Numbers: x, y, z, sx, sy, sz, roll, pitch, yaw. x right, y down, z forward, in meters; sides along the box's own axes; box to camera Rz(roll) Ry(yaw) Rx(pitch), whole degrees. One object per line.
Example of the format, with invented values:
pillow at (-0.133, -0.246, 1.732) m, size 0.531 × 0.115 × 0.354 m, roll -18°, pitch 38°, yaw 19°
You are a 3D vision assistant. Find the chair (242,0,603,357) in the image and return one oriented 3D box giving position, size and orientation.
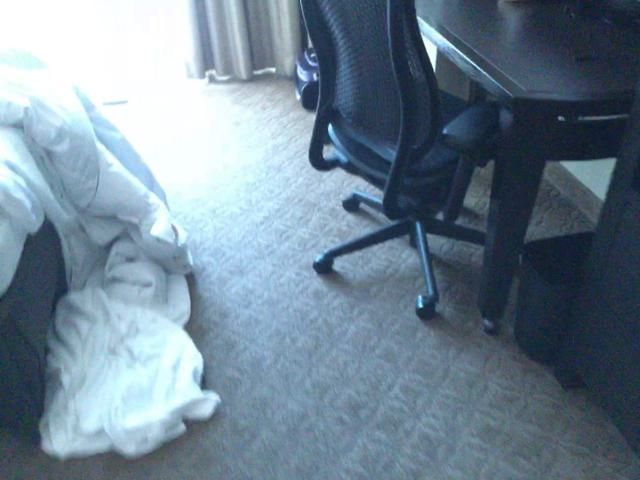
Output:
chair at (0.260, -0.360, 1.720) m, size 0.700 × 1.030 × 0.650 m, roll -20°, pitch 35°, yaw -27°

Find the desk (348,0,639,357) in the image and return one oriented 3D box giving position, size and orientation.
desk at (0.600, -0.470, 1.980) m, size 0.620 × 0.960 × 1.450 m, roll -8°, pitch 26°, yaw -11°

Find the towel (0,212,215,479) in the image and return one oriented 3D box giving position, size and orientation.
towel at (-0.580, 0.240, 1.660) m, size 0.500 × 0.280 × 0.740 m, roll -7°, pitch 31°, yaw -8°
